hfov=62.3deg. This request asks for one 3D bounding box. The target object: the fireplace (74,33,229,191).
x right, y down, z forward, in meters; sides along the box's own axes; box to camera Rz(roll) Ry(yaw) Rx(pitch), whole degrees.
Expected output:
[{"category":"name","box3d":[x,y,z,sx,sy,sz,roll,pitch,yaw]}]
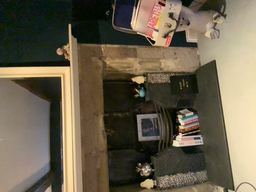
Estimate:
[{"category":"fireplace","box3d":[0.180,0.390,2.280,0.660,1.400,1.860,147,120,-71]}]

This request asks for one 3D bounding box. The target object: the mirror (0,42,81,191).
[{"category":"mirror","box3d":[-0.890,0.200,1.890,0.120,0.870,1.360,148,120,-71]}]
